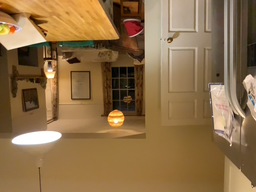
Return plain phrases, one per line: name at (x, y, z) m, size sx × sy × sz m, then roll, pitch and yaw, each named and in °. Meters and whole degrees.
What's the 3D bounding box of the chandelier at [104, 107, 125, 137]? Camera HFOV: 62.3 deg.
chandelier at (-0.350, 0.690, 5.820) m, size 0.530 × 0.680 × 0.630 m, roll -1°, pitch 6°, yaw 1°
